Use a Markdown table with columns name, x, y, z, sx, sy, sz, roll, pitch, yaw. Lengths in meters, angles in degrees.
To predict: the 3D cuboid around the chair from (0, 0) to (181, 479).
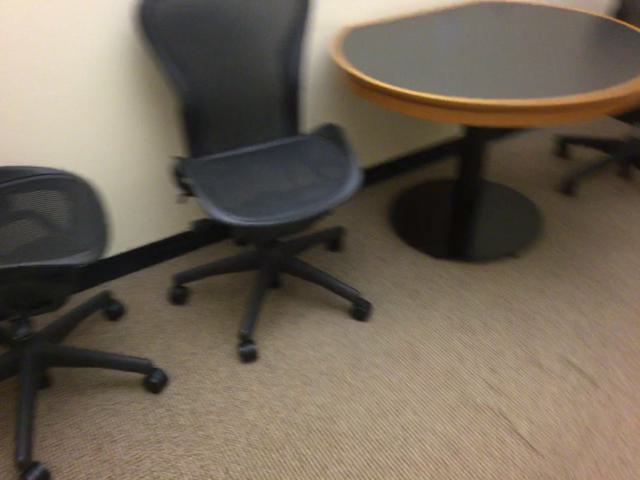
| name | x | y | z | sx | sy | sz | roll | pitch | yaw |
| --- | --- | --- | --- | --- | --- | --- | --- | --- | --- |
| chair | -0.900 | 0.030 | 1.440 | 0.710 | 1.060 | 0.730 | -19 | 38 | -18 |

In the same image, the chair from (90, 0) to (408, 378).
| name | x | y | z | sx | sy | sz | roll | pitch | yaw |
| --- | --- | --- | --- | --- | --- | --- | --- | --- | --- |
| chair | -0.190 | -0.260 | 1.790 | 0.660 | 1.010 | 0.660 | -19 | 38 | -17 |
